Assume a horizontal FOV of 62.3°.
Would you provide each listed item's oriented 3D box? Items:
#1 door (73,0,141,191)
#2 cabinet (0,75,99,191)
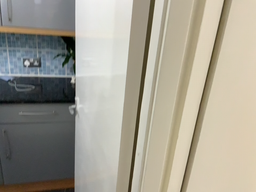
[{"bbox_3d":[-0.190,0.190,1.030,0.020,1.940,0.830,-3,23,-22],"label":"door"},{"bbox_3d":[-0.950,0.340,1.920,1.240,0.910,0.620,-1,22,-17],"label":"cabinet"}]
